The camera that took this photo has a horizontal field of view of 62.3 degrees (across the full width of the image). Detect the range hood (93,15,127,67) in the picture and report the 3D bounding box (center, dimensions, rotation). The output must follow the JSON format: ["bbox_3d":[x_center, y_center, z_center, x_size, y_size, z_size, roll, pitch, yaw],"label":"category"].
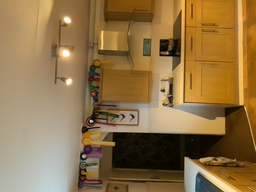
[{"bbox_3d":[-0.280,-0.900,3.520,0.320,0.500,0.740,97,175,-84],"label":"range hood"}]
